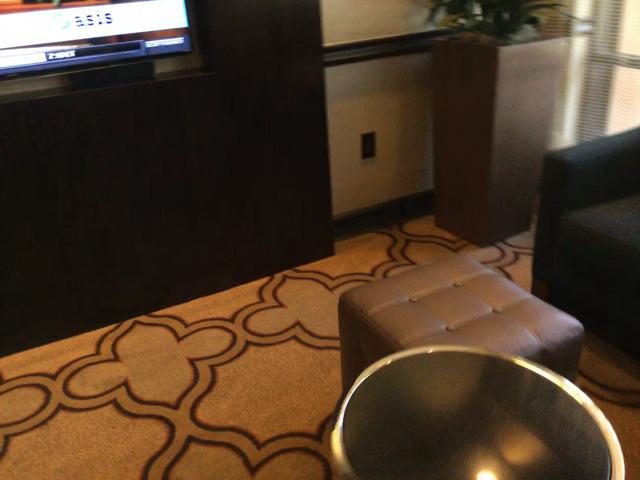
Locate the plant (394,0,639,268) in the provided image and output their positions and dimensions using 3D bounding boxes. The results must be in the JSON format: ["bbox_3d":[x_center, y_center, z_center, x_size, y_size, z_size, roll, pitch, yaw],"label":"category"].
[{"bbox_3d":[0.870,-0.800,2.600,0.820,1.550,0.690,-15,27,-22],"label":"plant"}]
